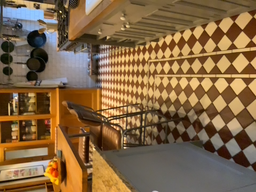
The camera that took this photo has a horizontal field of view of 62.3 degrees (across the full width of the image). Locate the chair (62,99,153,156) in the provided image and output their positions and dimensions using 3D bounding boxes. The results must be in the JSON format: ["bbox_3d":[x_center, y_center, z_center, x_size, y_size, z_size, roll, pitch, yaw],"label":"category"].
[{"bbox_3d":[-0.240,0.320,2.470,0.420,0.950,0.490,-158,69,-64],"label":"chair"}]

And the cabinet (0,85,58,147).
[{"bbox_3d":[-2.030,0.340,3.980,0.330,1.320,1.080,-166,77,-65],"label":"cabinet"}]
